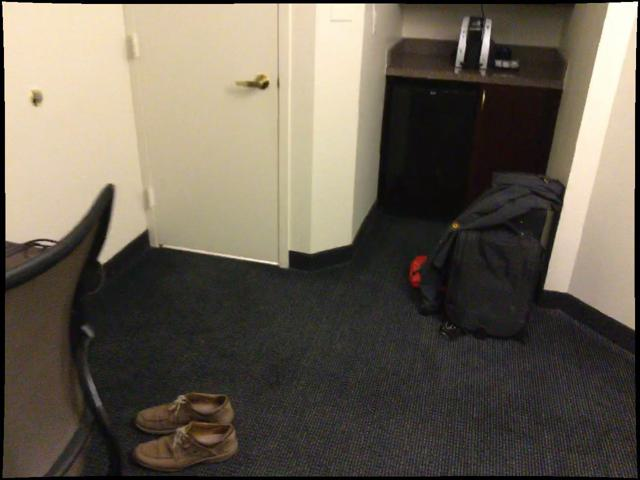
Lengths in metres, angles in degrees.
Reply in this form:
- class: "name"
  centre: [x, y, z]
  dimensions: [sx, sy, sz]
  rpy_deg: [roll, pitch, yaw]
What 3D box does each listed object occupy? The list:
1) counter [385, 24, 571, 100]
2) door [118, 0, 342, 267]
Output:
- class: "counter"
  centre: [0.909, -1.061, 3.370]
  dimensions: [0.929, 0.240, 0.670]
  rpy_deg: [9, 28, 13]
- class: "door"
  centre: [-0.410, -0.911, 2.590]
  dimensions: [0.999, 2.122, 0.130]
  rpy_deg: [9, 28, 13]
